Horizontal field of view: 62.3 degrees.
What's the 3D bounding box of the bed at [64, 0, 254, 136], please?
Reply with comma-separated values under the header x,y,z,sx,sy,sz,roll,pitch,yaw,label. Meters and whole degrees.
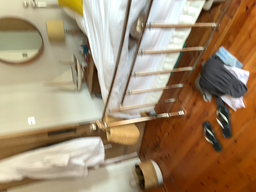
x,y,z,sx,sy,sz,roll,pitch,yaw,label
-0.030,-1.070,2.020,1.740,0.760,2.150,106,147,-43,bed
